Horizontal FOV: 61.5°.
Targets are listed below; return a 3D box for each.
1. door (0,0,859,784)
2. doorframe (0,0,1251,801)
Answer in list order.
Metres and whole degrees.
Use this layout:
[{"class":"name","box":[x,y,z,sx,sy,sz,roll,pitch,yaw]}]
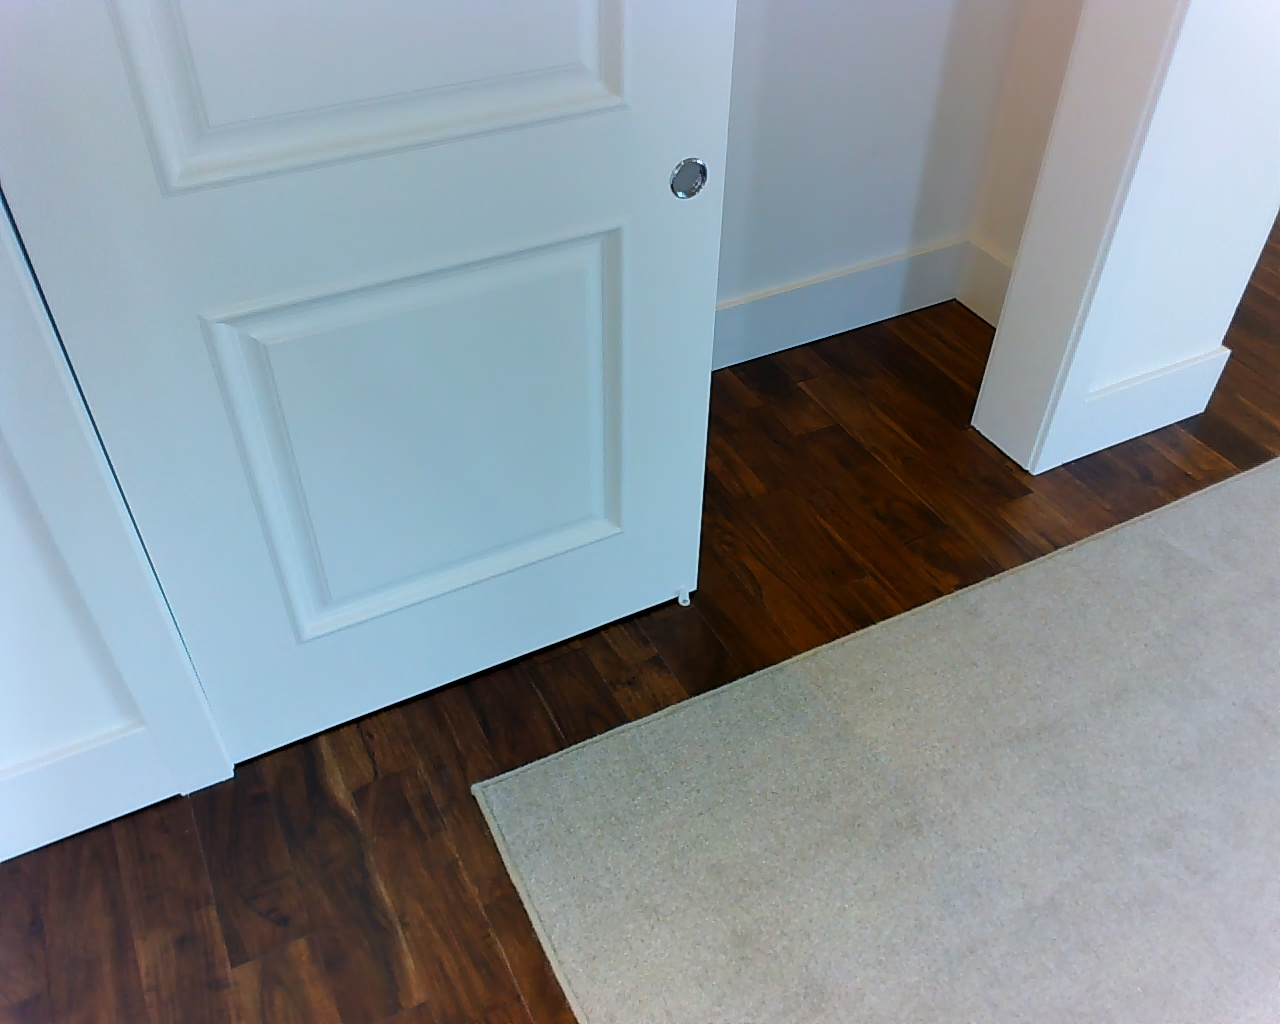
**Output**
[{"class":"door","box":[-0.190,-0.480,1.350,1.070,2.060,0.050,-19,45,-20]},{"class":"doorframe","box":[0.100,-0.730,1.500,1.900,2.240,0.320,-19,45,-20]}]
